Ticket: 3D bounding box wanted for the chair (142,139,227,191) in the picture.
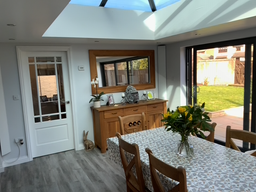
[{"bbox_3d":[0.450,0.920,1.770,0.470,0.940,0.470,-6,9,-27],"label":"chair"}]
